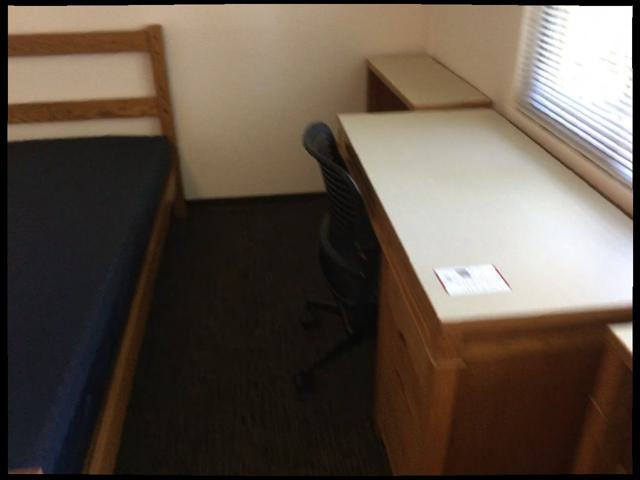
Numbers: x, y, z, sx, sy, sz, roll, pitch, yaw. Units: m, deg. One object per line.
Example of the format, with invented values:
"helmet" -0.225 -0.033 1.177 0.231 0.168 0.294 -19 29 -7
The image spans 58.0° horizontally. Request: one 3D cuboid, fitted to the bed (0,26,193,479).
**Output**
"bed" -1.078 0.030 1.840 1.138 0.921 2.181 -4 31 -7
